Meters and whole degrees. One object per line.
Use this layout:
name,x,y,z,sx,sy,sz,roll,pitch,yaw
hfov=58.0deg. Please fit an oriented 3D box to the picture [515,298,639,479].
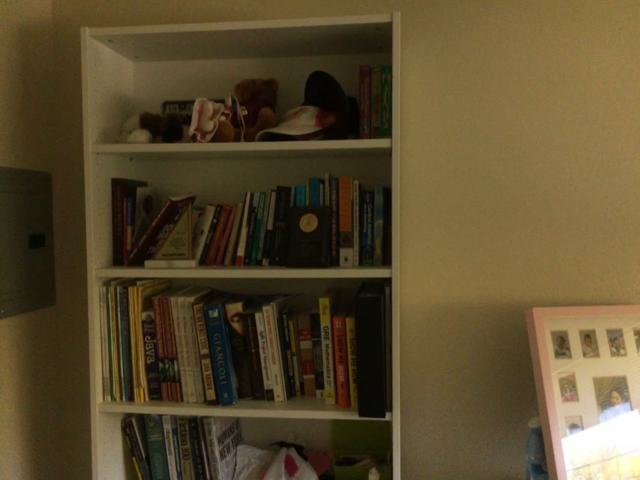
picture,0.700,0.420,1.400,0.390,0.520,0.350,-2,0,14
